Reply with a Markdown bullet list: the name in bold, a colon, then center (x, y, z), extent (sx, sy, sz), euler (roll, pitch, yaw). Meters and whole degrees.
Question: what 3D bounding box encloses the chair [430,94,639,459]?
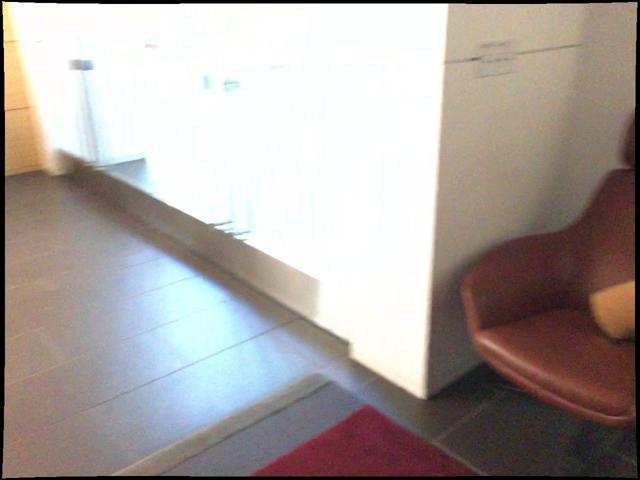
- **chair**: center (1.037, 0.030, 1.880), extent (0.959, 0.762, 0.929), euler (-22, 30, -36)
